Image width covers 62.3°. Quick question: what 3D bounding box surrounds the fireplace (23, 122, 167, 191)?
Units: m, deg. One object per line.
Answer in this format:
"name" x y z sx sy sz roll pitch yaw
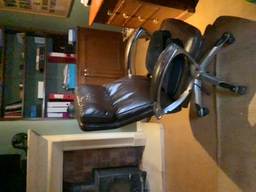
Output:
"fireplace" -0.370 1.120 2.340 0.790 1.370 1.610 164 106 -68

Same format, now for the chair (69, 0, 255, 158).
"chair" 0.160 -0.150 1.510 0.740 1.020 0.760 -123 39 -55

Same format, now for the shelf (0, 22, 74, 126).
"shelf" -1.500 -0.290 3.140 0.330 1.330 1.440 164 106 -68
